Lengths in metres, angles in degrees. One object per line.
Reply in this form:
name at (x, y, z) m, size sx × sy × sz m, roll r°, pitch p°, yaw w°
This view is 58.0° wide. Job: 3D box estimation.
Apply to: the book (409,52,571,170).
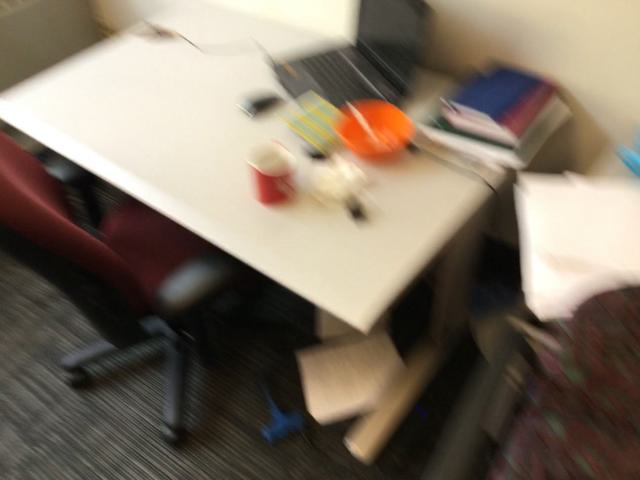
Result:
book at (0.380, -0.300, 1.290) m, size 0.250 × 0.100 × 0.290 m, roll 21°, pitch 46°, yaw 27°
